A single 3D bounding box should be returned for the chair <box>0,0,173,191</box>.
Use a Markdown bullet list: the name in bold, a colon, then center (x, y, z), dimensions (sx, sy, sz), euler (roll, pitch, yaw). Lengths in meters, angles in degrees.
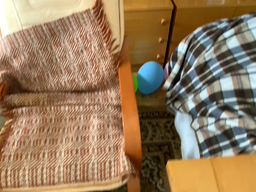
- **chair**: center (-0.310, -0.030, 0.960), dimensions (0.650, 0.960, 0.880), euler (-5, 48, -5)
